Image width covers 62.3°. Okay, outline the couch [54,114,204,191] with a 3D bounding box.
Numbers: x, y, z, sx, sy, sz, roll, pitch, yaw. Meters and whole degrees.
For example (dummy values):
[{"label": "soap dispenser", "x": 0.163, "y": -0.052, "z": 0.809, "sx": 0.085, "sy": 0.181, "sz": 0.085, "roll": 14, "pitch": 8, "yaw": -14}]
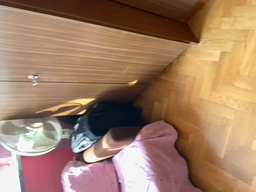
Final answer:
[{"label": "couch", "x": -0.030, "y": 0.640, "z": 1.550, "sx": 0.780, "sy": 0.660, "sz": 0.710, "roll": -42, "pitch": 60, "yaw": 43}]
